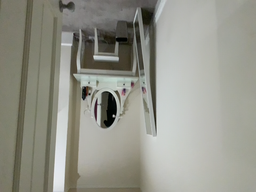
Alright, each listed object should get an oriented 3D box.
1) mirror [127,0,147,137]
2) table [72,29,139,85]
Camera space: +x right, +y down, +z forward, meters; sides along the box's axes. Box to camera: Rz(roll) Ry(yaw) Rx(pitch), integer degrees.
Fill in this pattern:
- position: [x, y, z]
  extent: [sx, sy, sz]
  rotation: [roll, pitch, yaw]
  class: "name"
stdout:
- position: [0.110, -0.360, 2.830]
  extent: [0.170, 1.740, 0.470]
  rotation: [1, 177, -7]
  class: "mirror"
- position: [-0.370, -0.630, 3.580]
  extent: [1.030, 0.780, 0.470]
  rotation: [1, 172, -7]
  class: "table"
